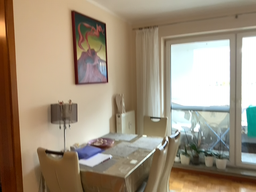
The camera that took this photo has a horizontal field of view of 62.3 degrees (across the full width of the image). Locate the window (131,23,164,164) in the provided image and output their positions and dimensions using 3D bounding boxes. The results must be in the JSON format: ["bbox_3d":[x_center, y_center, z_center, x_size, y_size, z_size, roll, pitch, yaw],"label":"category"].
[{"bbox_3d":[0.350,-0.030,3.730,0.470,2.310,0.350,1,4,26],"label":"window"}]
